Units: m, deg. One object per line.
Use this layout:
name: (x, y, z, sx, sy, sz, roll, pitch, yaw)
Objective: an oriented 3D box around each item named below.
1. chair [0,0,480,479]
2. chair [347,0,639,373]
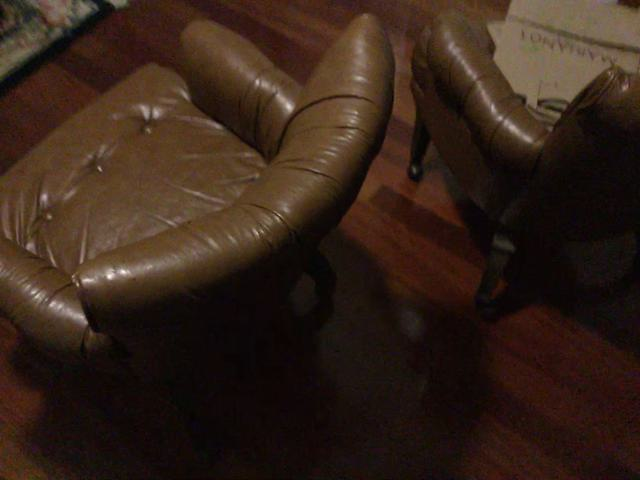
chair: (-0.280, -0.040, 1.090, 0.690, 0.790, 0.720, 32, 61, 16)
chair: (0.550, -0.270, 1.280, 0.770, 0.780, 0.780, -7, 59, -8)
